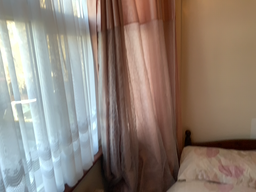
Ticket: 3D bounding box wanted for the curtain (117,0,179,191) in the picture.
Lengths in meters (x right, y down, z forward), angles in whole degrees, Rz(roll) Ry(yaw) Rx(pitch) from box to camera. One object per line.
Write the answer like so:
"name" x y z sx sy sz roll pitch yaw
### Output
"curtain" 0.200 -0.090 1.760 0.370 2.030 0.410 2 14 21
